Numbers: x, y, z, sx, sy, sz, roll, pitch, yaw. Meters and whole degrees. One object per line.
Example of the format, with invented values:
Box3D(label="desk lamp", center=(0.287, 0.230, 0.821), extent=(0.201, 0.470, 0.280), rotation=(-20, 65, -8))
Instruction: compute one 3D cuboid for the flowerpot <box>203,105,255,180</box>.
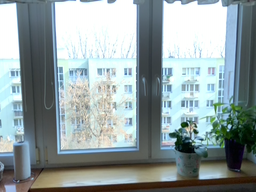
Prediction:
Box3D(label="flowerpot", center=(0.760, 0.320, 1.540), extent=(0.310, 0.470, 0.260), rotation=(-1, 7, -3))

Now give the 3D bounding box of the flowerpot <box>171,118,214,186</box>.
Box3D(label="flowerpot", center=(0.430, 0.370, 1.480), extent=(0.190, 0.370, 0.310), rotation=(-1, 7, -2))
